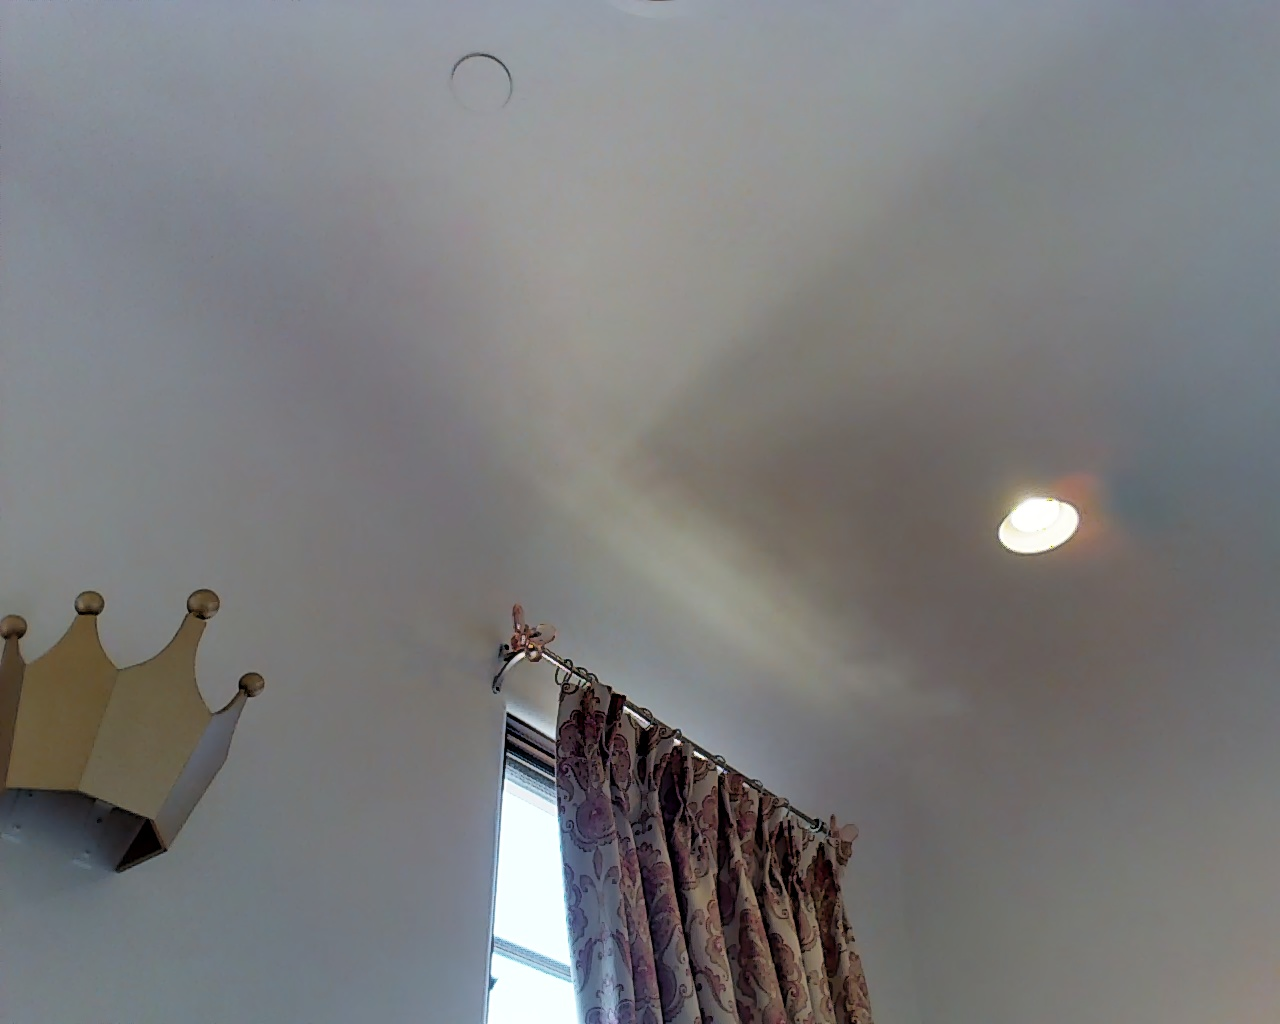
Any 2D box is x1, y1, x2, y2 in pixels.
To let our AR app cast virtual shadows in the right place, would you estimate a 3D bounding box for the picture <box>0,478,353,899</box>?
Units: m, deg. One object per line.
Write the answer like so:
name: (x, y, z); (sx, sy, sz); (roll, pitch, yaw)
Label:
picture: (-0.580, 0.220, 1.290); (0.240, 0.330, 0.330); (-30, -50, 26)
